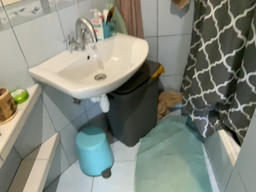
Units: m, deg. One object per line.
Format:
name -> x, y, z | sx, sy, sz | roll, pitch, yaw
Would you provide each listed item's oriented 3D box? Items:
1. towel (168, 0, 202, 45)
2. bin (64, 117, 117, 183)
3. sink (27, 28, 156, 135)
towel -> 0.370, -0.720, 1.300 | 0.190, 0.790, 0.130 | 10, 41, 19
bin -> -0.260, 0.380, 1.500 | 0.250, 0.300, 0.250 | -20, 40, -18
sink -> -0.160, -0.130, 1.210 | 0.360, 0.250, 0.610 | 24, 47, 32
